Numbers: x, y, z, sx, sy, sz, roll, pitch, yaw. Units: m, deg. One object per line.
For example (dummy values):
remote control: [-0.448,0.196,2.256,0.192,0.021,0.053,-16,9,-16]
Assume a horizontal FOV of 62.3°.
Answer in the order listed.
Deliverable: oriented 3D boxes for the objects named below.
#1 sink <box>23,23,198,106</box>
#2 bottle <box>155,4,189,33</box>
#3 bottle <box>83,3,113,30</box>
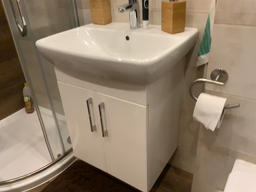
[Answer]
sink: [-0.070,-0.200,0.960,0.610,0.140,0.460,16,34,31]
bottle: [0.190,-0.340,0.920,0.110,0.100,0.100,16,34,31]
bottle: [-0.160,-0.430,1.140,0.100,0.120,0.110,13,33,28]
